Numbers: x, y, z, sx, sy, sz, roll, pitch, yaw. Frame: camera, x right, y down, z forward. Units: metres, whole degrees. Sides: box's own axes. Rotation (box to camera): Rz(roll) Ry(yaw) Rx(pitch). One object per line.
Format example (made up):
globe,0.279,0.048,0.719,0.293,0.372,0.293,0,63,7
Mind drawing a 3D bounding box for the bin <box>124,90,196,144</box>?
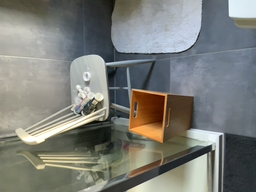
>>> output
bin,0.190,0.100,1.280,0.320,0.280,0.260,4,95,46
